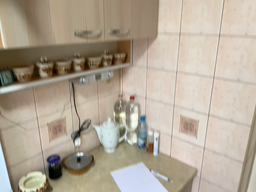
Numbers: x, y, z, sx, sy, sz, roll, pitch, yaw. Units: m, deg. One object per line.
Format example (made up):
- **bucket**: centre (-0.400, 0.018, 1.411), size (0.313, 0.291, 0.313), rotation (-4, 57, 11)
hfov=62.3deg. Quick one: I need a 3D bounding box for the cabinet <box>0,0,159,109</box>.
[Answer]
- **cabinet**: centre (-0.200, -0.520, 0.910), size (0.300, 0.920, 0.780), rotation (16, 24, 37)
